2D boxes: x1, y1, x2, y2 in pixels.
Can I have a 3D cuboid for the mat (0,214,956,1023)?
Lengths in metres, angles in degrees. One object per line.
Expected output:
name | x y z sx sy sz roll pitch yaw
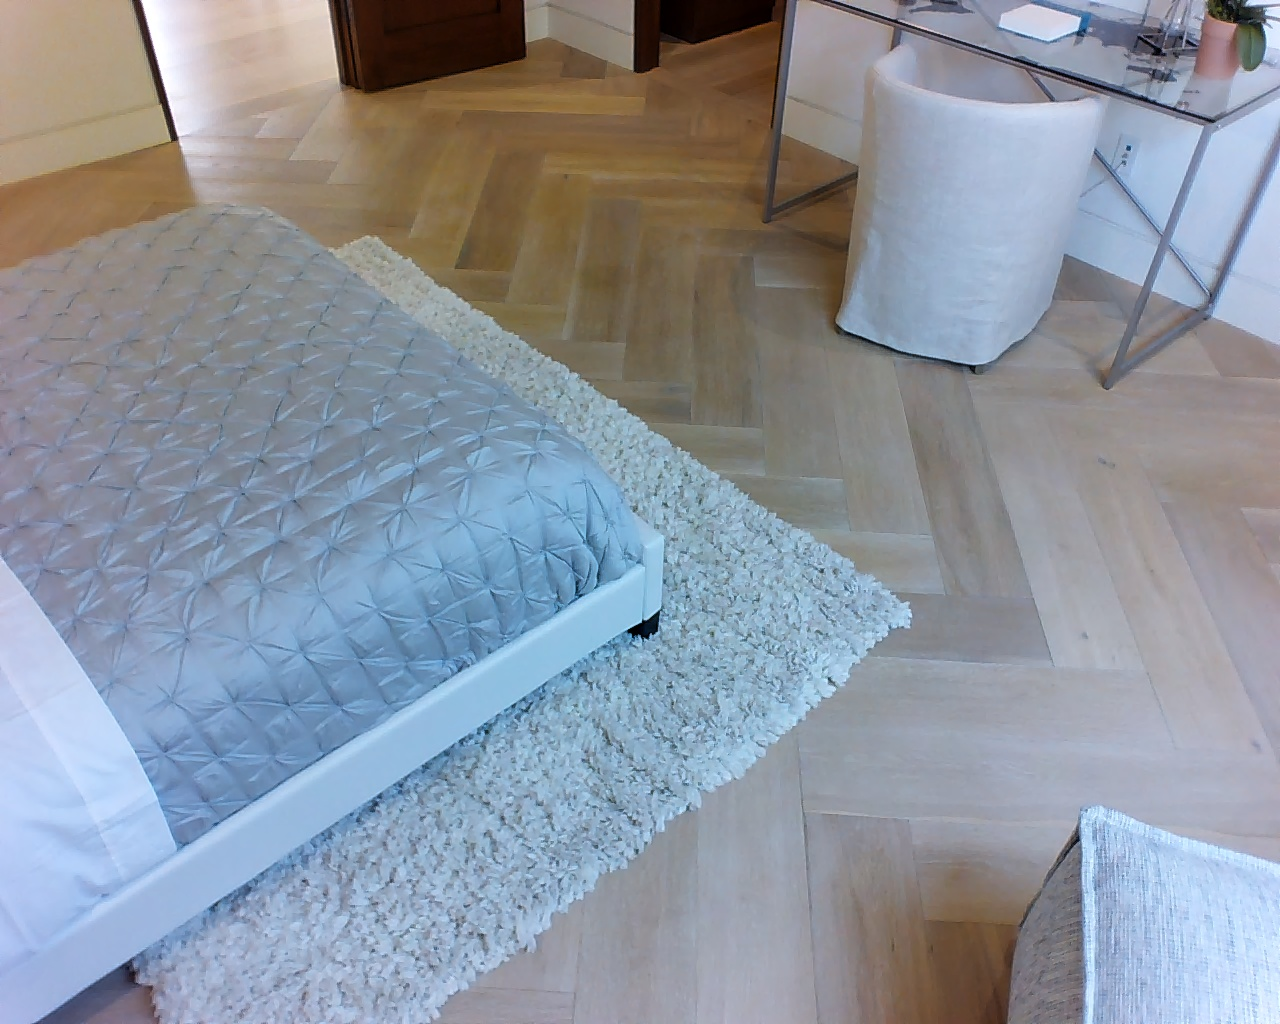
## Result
mat | -0.720 -0.010 2.490 1.620 0.070 2.330 -30 50 -30

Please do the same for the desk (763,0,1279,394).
desk | 1.090 -1.070 3.190 0.600 0.760 1.320 -31 51 -30
